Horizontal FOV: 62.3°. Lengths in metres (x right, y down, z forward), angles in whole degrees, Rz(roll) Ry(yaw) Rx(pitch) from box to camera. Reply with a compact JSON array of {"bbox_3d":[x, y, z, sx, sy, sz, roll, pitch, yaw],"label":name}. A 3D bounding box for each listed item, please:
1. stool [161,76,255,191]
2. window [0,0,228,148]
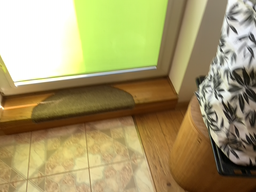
[{"bbox_3d":[0.450,0.250,1.030,0.390,0.530,0.390,-7,49,-10],"label":"stool"},{"bbox_3d":[-0.160,-0.670,0.610,1.240,2.440,0.220,-10,49,-12],"label":"window"}]
